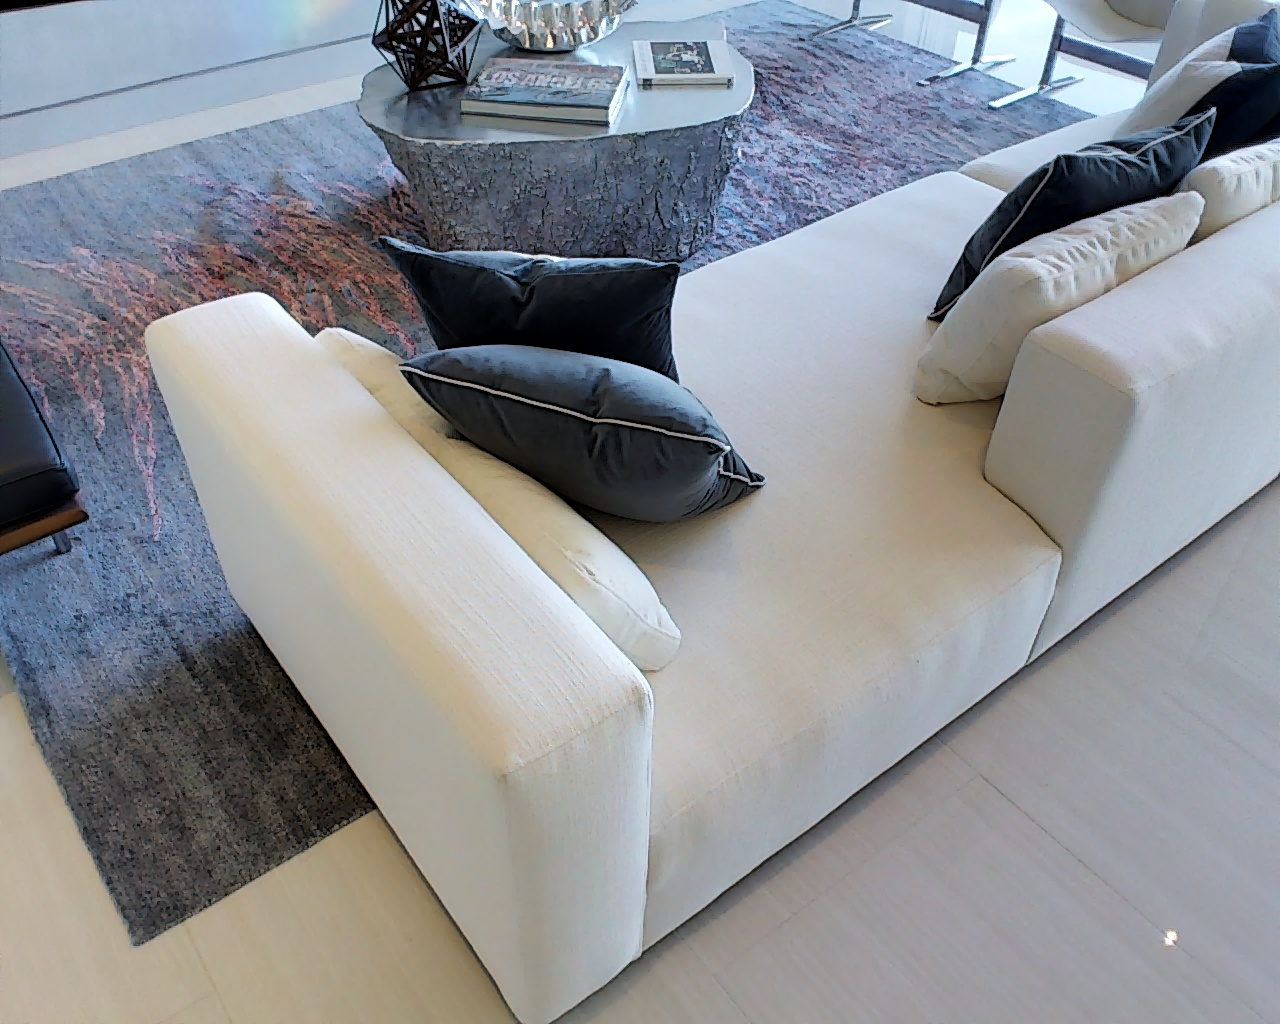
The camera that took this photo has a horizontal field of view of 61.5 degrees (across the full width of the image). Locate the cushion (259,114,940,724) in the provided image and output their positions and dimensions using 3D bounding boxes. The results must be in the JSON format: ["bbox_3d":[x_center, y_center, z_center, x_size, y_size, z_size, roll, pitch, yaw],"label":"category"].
[{"bbox_3d":[-0.100,-0.220,1.700,0.590,0.400,0.880,-27,49,-27],"label":"cushion"}]

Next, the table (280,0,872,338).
[{"bbox_3d":[-0.190,-1.250,3.210,1.330,0.680,1.020,-25,48,-26],"label":"table"}]

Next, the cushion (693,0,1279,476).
[{"bbox_3d":[1.090,-0.810,2.360,1.820,0.430,0.820,-27,49,-27],"label":"cushion"}]
